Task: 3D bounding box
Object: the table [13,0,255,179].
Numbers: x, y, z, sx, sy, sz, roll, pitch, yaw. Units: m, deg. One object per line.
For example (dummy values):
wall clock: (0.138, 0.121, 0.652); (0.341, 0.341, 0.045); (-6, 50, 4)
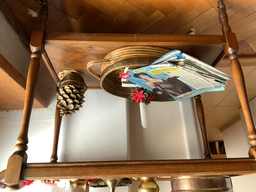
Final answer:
table: (0.020, -0.020, 0.810); (0.630, 0.600, 0.350); (0, 156, -3)
